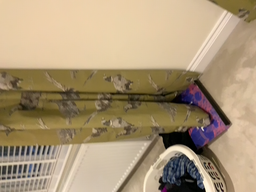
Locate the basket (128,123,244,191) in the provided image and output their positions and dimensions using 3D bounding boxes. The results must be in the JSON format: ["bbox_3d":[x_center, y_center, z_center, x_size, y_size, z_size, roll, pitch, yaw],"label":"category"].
[{"bbox_3d":[0.330,0.610,1.420,0.700,0.260,0.550,-57,38,40],"label":"basket"}]
